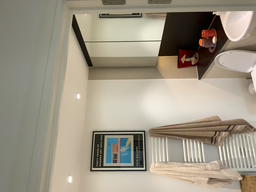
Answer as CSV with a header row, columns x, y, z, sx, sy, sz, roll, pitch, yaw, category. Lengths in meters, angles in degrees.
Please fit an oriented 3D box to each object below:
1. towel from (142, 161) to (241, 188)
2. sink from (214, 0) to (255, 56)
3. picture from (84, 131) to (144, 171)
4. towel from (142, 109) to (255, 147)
x,y,z,sx,sy,sz,roll,pitch,yaw,category
0.630,0.810,2.200,0.190,0.950,0.250,90,180,-70,towel
0.920,-0.660,1.680,0.570,0.190,0.450,90,180,-69,sink
-0.150,0.610,2.380,0.030,0.640,0.430,90,180,-65,picture
0.800,0.360,2.350,0.190,1.280,0.380,90,180,-68,towel
